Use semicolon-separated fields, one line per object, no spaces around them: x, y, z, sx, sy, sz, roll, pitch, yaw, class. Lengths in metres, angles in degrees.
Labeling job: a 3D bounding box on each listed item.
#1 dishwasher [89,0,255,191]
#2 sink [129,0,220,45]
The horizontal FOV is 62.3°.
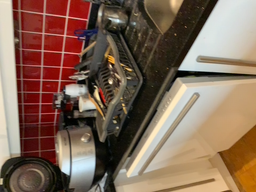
0.340;0.000;1.220;0.740;0.900;0.630;114;146;-41;dishwasher
0.150;-0.340;0.760;0.180;0.180;0.250;114;146;-41;sink
